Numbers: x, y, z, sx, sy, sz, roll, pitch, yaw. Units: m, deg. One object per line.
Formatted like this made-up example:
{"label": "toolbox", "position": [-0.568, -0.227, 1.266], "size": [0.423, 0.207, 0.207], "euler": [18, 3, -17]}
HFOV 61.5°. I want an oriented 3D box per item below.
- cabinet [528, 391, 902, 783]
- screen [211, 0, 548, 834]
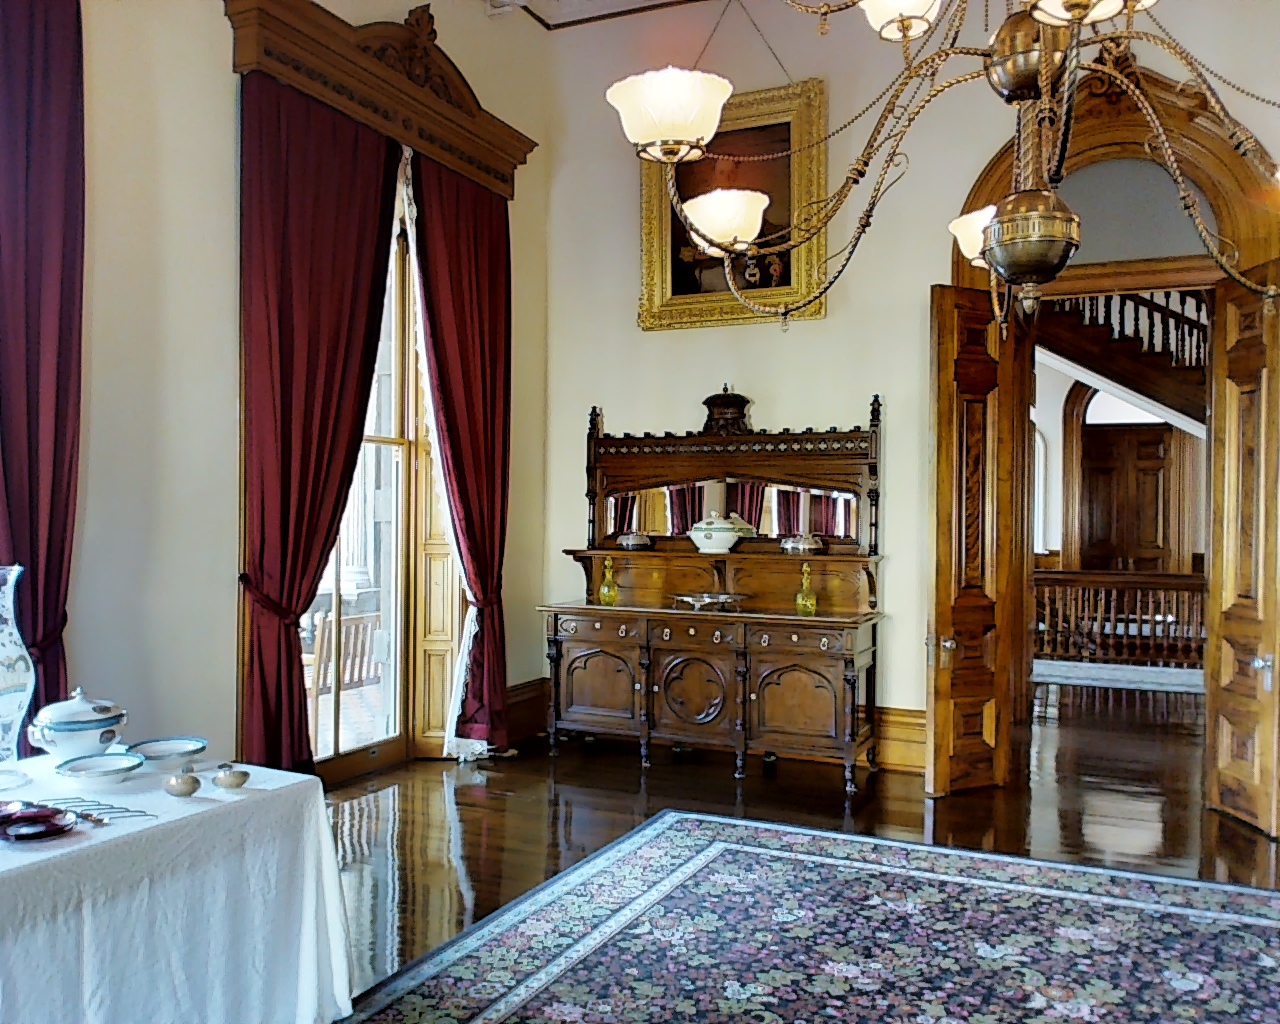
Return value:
{"label": "cabinet", "position": [0.440, 0.400, 6.800], "size": [2.240, 2.200, 0.620], "euler": [1, 0, 25]}
{"label": "screen", "position": [-1.310, -0.580, 6.110], "size": [0.260, 4.111, 2.530], "euler": [1, 0, 25]}
